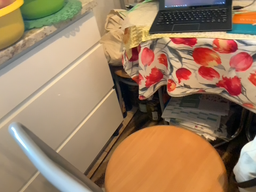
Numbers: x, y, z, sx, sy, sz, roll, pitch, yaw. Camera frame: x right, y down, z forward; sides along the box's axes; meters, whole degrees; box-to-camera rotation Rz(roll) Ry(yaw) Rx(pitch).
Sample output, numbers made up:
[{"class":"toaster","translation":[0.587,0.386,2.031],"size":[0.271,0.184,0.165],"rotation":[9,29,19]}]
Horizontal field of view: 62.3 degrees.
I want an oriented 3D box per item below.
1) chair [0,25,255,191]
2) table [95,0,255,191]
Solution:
[{"class":"chair","translation":[0.090,0.280,0.670],"size":[0.390,0.810,0.440],"rotation":[22,50,34]},{"class":"table","translation":[0.560,-0.050,0.990],"size":[1.130,0.750,0.600],"rotation":[14,46,29]}]
